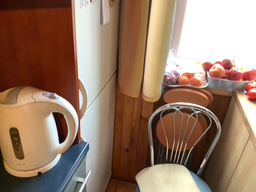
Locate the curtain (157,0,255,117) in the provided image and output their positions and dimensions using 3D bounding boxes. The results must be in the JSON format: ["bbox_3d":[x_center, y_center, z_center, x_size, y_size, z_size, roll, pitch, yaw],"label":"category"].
[{"bbox_3d":[0.590,-0.670,1.110,0.630,1.650,0.150,11,30,10],"label":"curtain"}]

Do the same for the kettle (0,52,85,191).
[{"bbox_3d":[-0.260,0.080,0.610,0.210,0.350,0.150,14,31,15],"label":"kettle"}]
